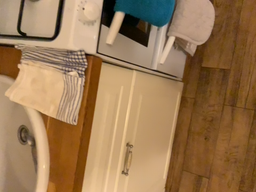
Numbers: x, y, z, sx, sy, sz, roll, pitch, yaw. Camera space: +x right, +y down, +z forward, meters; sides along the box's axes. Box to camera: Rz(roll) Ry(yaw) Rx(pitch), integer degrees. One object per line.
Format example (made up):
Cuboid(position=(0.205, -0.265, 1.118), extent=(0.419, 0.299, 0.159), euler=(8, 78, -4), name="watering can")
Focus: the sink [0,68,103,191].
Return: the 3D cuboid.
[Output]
Cuboid(position=(-0.340, 0.160, 0.660), extent=(0.430, 0.180, 0.450), euler=(12, 95, 28), name="sink")
